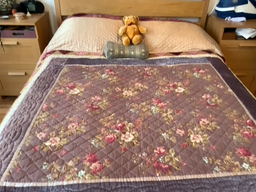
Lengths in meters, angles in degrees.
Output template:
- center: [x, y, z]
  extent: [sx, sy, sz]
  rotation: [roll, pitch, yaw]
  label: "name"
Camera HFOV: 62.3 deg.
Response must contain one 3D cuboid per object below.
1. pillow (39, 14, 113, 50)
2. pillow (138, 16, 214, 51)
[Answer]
- center: [-0.410, -0.550, 1.790]
  extent: [0.540, 0.200, 0.350]
  rotation: [-2, 33, -6]
  label: "pillow"
- center: [0.390, -0.570, 1.900]
  extent: [0.550, 0.170, 0.470]
  rotation: [-1, 33, -4]
  label: "pillow"
